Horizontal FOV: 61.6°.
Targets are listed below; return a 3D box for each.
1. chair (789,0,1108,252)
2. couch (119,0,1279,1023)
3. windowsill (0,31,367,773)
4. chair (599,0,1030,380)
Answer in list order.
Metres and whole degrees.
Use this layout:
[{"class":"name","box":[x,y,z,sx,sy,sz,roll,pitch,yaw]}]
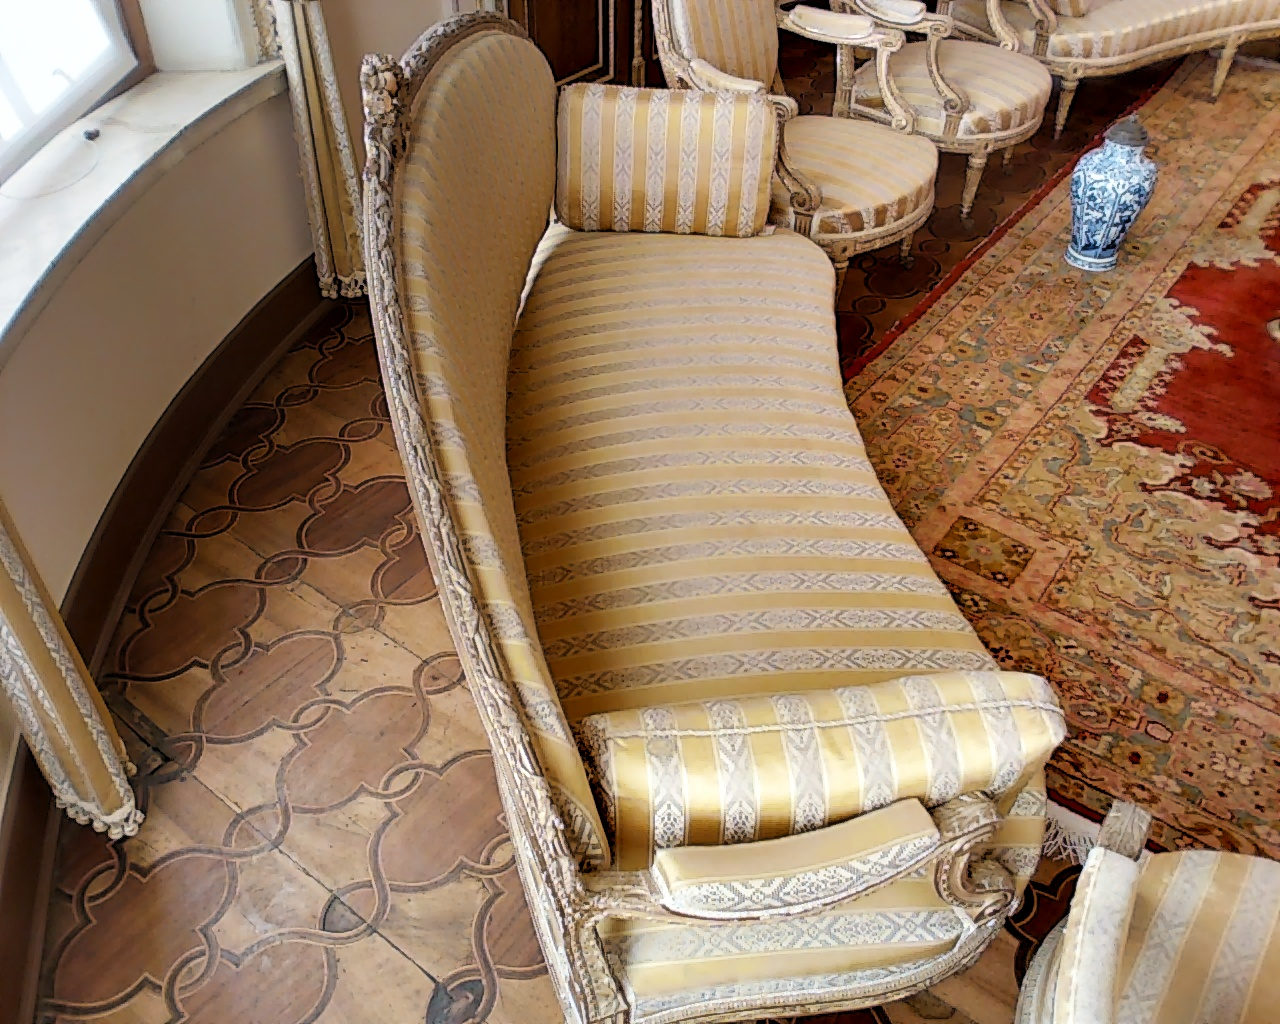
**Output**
[{"class":"chair","box":[1.080,-1.640,3.640,0.820,1.110,0.770,19,45,20]},{"class":"couch","box":[0.080,-0.270,2.050,1.070,1.200,2.280,-3,41,-3]},{"class":"windowsill","box":[-1.020,-0.370,2.370,0.360,0.800,1.680,0,41,1]},{"class":"chair","box":[0.490,-1.190,3.140,0.880,1.120,0.820,27,48,28]}]
